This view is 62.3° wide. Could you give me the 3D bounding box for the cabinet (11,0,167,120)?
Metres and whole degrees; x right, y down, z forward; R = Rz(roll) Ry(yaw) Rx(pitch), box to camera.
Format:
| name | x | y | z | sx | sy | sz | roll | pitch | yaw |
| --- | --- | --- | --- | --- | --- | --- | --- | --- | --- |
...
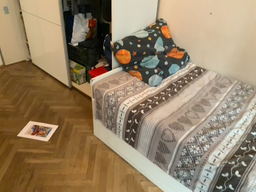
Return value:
| name | x | y | z | sx | sy | sz | roll | pitch | yaw |
| --- | --- | --- | --- | --- | --- | --- | --- | --- | --- |
| cabinet | -0.560 | -1.190 | 2.240 | 1.900 | 2.180 | 0.690 | 31 | 43 | 33 |
